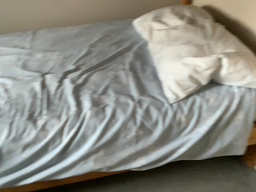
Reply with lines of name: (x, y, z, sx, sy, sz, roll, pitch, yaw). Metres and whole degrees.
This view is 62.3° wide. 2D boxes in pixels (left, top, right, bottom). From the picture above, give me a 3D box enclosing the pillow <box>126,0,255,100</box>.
pillow: (0.280, -0.320, 1.060, 0.460, 0.150, 0.780, -7, 41, -6)
